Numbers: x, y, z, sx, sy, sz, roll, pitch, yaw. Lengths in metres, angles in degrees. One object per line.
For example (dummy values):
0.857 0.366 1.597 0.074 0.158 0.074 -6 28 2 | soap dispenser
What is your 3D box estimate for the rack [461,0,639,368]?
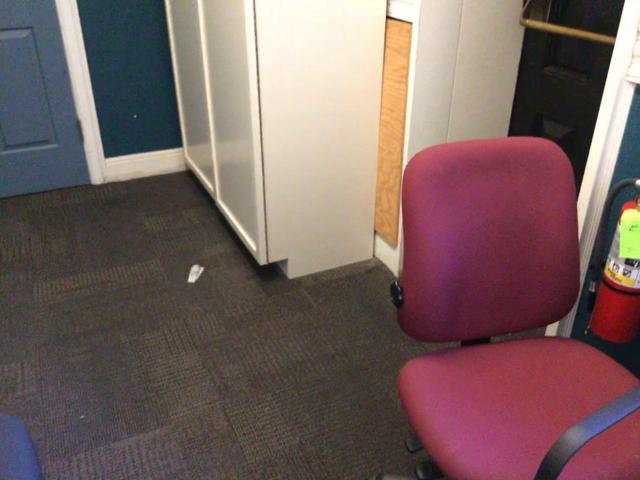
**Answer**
0.870 -0.410 1.910 0.160 1.460 0.800 -12 31 -22 | rack
